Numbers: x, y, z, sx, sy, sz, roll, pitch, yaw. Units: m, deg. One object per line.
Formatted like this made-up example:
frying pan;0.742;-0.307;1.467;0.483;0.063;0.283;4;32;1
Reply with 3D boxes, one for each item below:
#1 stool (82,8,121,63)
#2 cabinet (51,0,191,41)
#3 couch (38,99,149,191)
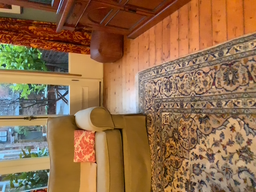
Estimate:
stool;-0.380;-0.780;2.880;0.570;0.350;0.550;-2;87;64
cabinet;-0.110;-0.920;1.770;1.210;0.870;0.450;-8;82;63
couch;-0.470;0.710;2.400;1.140;0.930;1.240;-13;77;63
